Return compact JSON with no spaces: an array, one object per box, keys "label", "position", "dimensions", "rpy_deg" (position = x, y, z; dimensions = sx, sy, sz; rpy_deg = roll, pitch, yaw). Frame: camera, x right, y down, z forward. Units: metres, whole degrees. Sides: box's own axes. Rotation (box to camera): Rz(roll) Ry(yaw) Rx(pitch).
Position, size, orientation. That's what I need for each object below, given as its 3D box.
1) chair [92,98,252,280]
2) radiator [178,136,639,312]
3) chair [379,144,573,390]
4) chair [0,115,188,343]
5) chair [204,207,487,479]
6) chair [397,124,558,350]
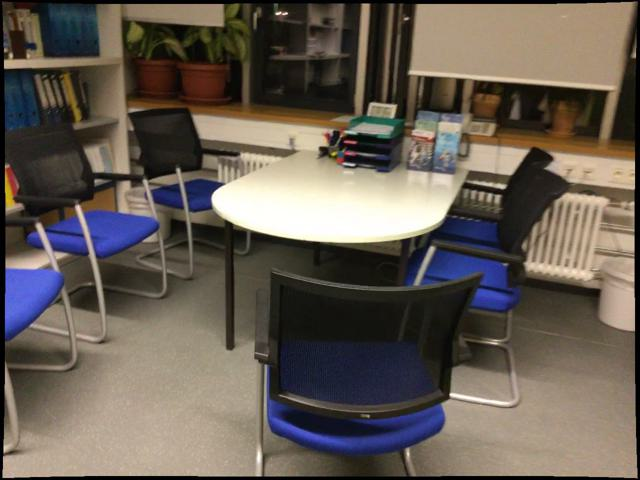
[{"label":"chair","position":[-0.839,-0.340,3.450],"dimensions":[0.619,0.871,0.640],"rpy_deg":[11,23,21]},{"label":"radiator","position":[0.440,-0.160,3.480],"dimensions":[2.758,0.621,0.290],"rpy_deg":[9,22,17]},{"label":"chair","position":[0.639,0.070,2.420],"dimensions":[0.609,0.781,0.580],"rpy_deg":[9,22,17]},{"label":"chair","position":[-1.159,-0.100,2.820],"dimensions":[0.739,0.861,0.640],"rpy_deg":[9,22,17]},{"label":"chair","position":[0.020,0.410,1.650],"dimensions":[0.589,0.841,0.650],"rpy_deg":[0,21,-5]},{"label":"chair","position":[0.809,-0.070,2.970],"dimensions":[0.599,0.871,0.800],"rpy_deg":[9,22,17]}]
